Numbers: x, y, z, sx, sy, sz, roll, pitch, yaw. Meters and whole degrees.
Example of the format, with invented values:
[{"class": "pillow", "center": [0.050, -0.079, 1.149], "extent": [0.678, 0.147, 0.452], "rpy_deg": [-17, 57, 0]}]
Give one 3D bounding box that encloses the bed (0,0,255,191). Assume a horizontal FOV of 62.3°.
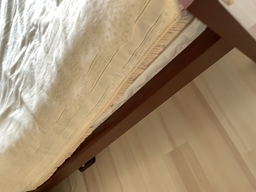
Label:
[{"class": "bed", "center": [-0.680, -0.340, 1.530], "extent": [2.170, 0.820, 1.800], "rpy_deg": [-42, 59, 32]}]
